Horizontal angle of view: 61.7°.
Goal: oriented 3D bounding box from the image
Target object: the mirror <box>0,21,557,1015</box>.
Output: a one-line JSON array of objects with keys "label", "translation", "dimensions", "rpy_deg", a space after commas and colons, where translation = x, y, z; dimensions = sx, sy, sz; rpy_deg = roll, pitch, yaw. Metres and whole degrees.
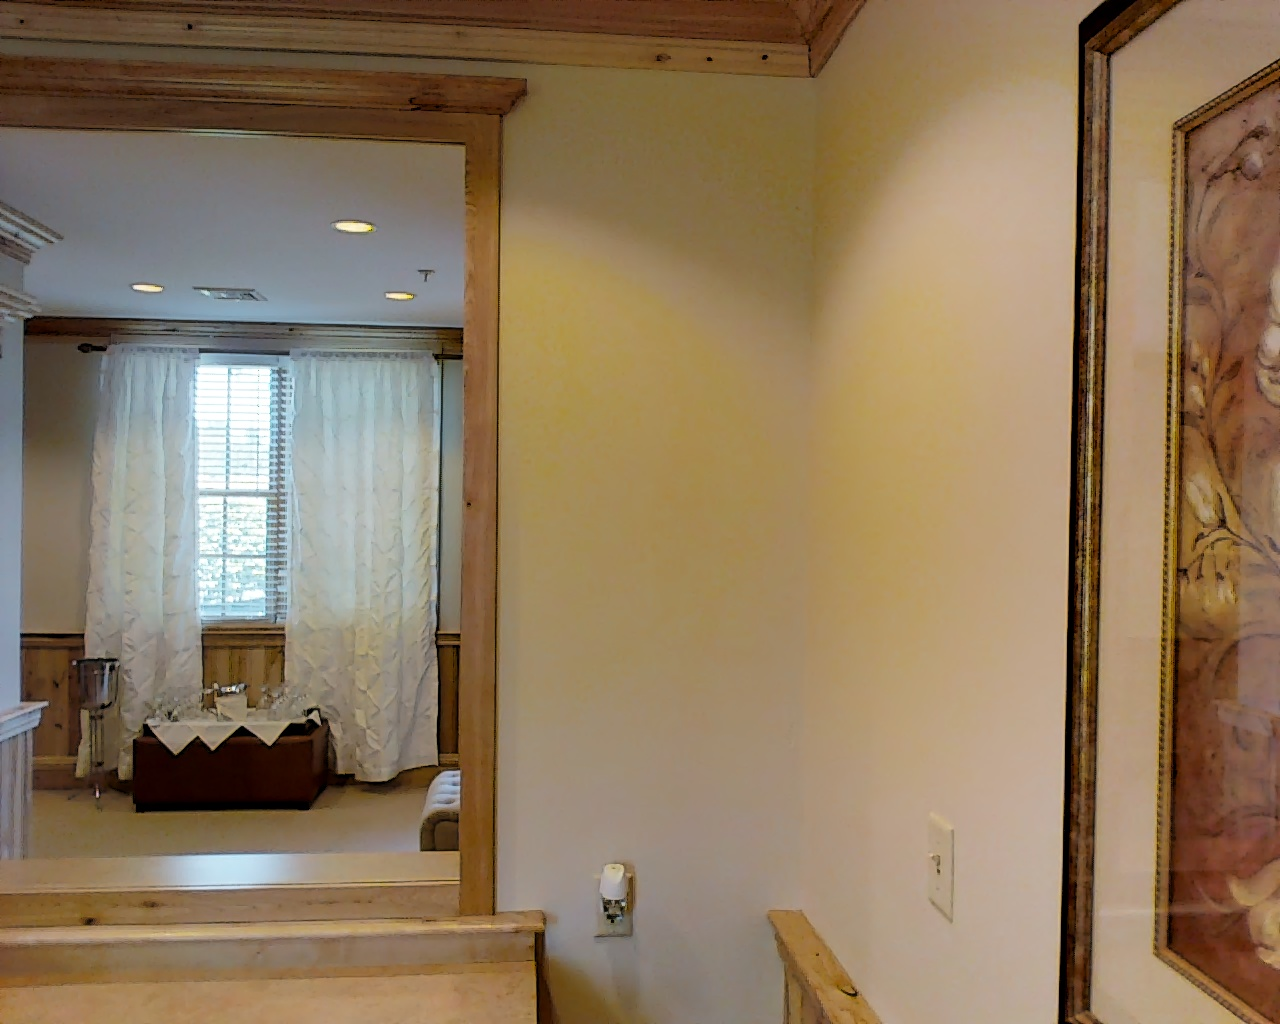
[{"label": "mirror", "translation": [-0.840, 0.020, 1.970], "dimensions": [1.340, 1.760, 0.080], "rpy_deg": [1, 1, -6]}]
